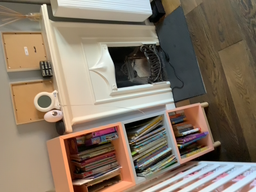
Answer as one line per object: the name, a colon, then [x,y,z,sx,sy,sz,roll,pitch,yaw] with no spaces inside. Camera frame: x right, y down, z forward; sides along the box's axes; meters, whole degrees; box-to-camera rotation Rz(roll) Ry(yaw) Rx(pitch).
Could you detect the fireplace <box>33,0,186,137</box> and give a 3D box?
fireplace: [-0.110,-0.260,1.710,0.260,1.040,0.930,-25,77,57]
